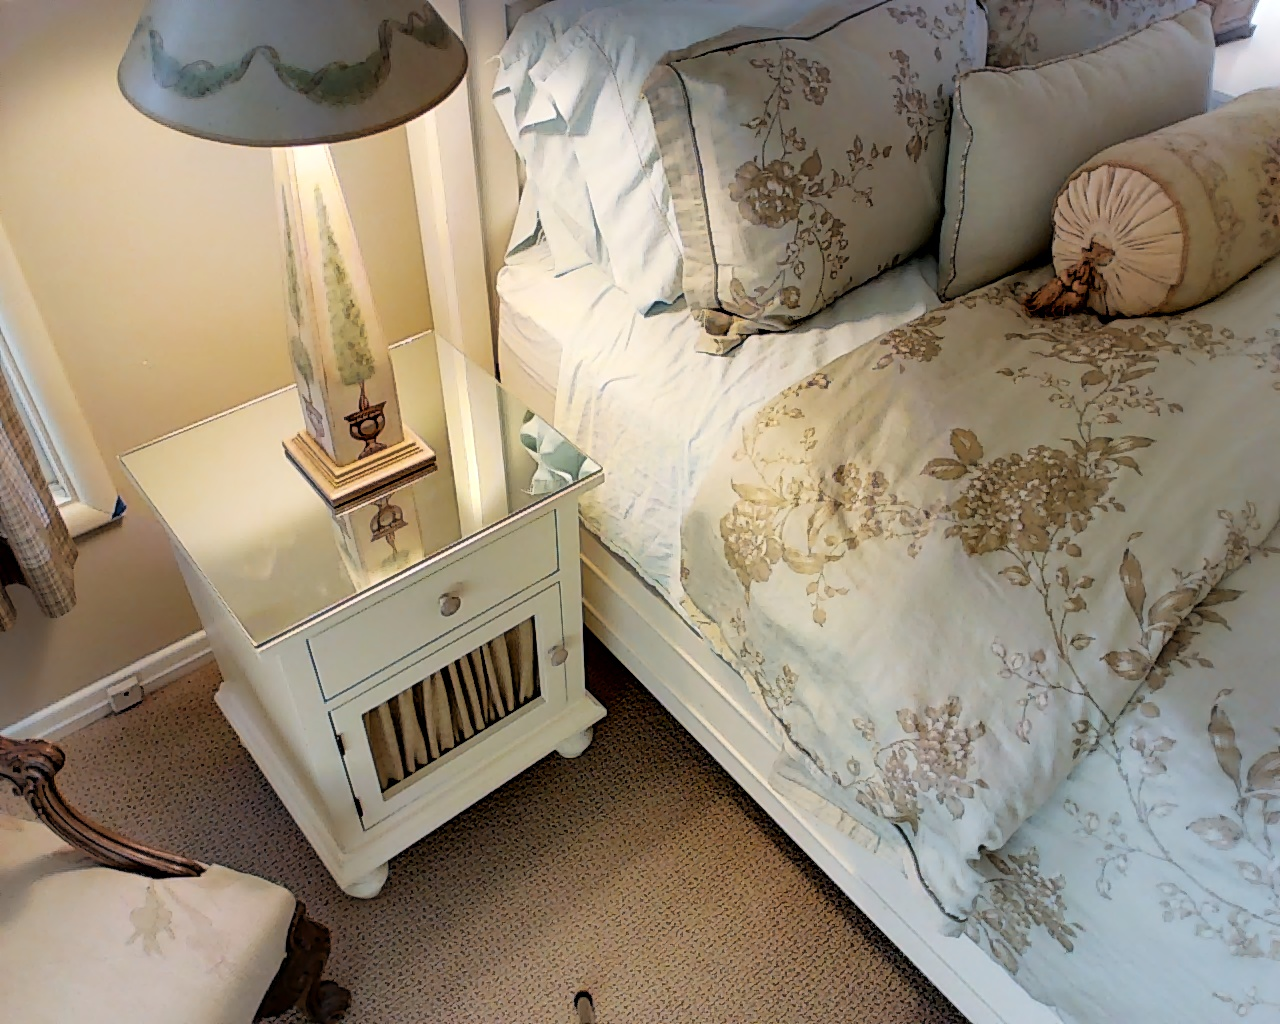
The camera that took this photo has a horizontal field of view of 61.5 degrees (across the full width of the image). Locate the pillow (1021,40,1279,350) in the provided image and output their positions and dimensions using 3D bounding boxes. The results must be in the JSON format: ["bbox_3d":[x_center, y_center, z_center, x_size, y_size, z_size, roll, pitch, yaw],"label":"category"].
[{"bbox_3d":[0.850,-0.480,1.550,0.590,0.180,0.270,-33,53,-31],"label":"pillow"}]

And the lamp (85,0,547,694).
[{"bbox_3d":[-0.340,-0.230,1.300,0.330,0.940,0.250,-27,50,-27],"label":"lamp"}]

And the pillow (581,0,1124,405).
[{"bbox_3d":[0.310,-0.540,1.600,0.730,0.400,0.340,-30,51,-29],"label":"pillow"}]

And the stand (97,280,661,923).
[{"bbox_3d":[-0.370,0.130,1.740,0.600,0.690,0.510,-29,51,-28],"label":"stand"}]

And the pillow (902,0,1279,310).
[{"bbox_3d":[0.740,-0.600,1.700,0.700,0.280,0.190,-30,51,-29],"label":"pillow"}]
